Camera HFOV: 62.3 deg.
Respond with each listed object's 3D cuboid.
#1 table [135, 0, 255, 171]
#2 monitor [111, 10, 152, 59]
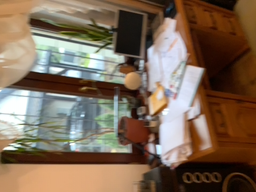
[{"bbox_3d":[0.620,-0.120,1.920,0.740,0.770,1.410,128,143,-54],"label":"table"},{"bbox_3d":[0.040,-0.600,2.070,0.040,0.320,0.400,158,126,-74],"label":"monitor"}]
